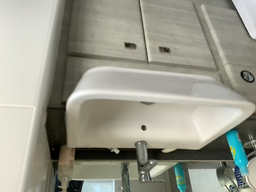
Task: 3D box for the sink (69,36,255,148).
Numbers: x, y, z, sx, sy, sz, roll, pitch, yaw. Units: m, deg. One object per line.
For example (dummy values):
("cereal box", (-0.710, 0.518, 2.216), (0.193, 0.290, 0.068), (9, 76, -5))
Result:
("sink", (0.100, 0.040, 0.760), (0.580, 0.150, 0.430), (4, 148, -15))
